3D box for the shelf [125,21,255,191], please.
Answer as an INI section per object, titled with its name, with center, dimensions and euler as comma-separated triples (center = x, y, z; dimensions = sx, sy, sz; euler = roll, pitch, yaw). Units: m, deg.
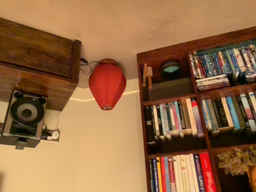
[shelf]
center = 0.680, 0.450, 1.170
dimensions = 1.260, 1.850, 0.370
euler = -10, 151, 13
